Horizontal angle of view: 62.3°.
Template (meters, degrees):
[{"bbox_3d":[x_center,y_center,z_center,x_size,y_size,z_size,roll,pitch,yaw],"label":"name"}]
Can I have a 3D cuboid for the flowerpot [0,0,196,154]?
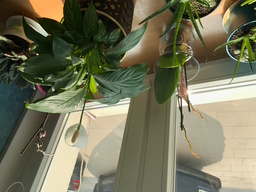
[{"bbox_3d":[-0.040,-0.110,0.650,0.390,0.430,0.390,-9,139,26],"label":"flowerpot"}]
